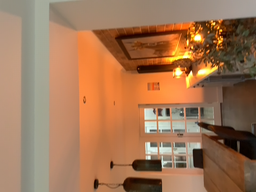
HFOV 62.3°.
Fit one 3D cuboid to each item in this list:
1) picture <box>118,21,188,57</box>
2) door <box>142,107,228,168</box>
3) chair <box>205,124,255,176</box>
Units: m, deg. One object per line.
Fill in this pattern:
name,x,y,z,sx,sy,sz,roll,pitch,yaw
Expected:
picture,0.400,-0.850,3.390,1.400,0.880,0.060,24,-116,-82
door,1.410,1.050,5.430,0.100,2.070,1.510,18,-109,-82
chair,1.510,0.670,2.720,0.430,0.900,0.540,-29,-63,-82
